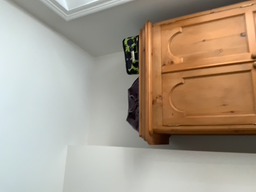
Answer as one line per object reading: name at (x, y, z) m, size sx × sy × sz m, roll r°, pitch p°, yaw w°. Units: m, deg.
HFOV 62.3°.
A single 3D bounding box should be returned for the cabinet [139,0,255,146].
cabinet at (1.130, -0.190, 1.630) m, size 0.640 × 1.980 × 1.130 m, roll 23°, pitch -114°, yaw -61°
